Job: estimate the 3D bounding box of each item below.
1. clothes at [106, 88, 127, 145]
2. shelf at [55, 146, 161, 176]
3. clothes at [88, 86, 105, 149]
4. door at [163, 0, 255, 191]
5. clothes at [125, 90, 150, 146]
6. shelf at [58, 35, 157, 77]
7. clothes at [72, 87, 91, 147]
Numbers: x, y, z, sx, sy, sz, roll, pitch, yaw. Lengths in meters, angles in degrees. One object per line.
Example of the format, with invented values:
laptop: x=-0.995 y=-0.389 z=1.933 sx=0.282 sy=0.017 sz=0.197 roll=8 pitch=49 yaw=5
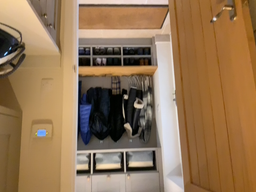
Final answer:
clothes: x=-0.190 y=0.320 z=3.330 sx=0.290 sy=0.850 sz=0.270 roll=0 pitch=169 yaw=-8
shelf: x=-0.280 y=0.960 z=3.200 sx=1.470 sy=0.350 sz=0.440 roll=-1 pitch=169 yaw=-4
clothes: x=-0.480 y=0.330 z=3.290 sx=0.240 sy=0.920 sz=0.310 roll=-1 pitch=169 yaw=-5
door: x=0.450 y=-0.280 z=1.370 sx=0.150 sy=1.950 sz=0.920 roll=-1 pitch=169 yaw=-5
clothes: x=0.130 y=0.350 z=3.340 sx=0.330 sy=0.820 sz=0.350 roll=-1 pitch=169 yaw=-4
shelf: x=-0.320 y=-0.630 z=3.460 sx=1.470 sy=0.510 sz=0.550 roll=-1 pitch=169 yaw=-4
clothes: x=-0.710 y=0.330 z=3.270 sx=0.240 sy=0.880 sz=0.320 roll=-1 pitch=169 yaw=-5
